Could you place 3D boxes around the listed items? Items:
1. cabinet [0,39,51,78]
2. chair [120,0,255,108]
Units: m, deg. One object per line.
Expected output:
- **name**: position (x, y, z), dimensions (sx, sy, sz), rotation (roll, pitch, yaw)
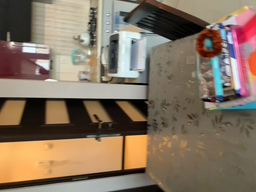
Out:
- **cabinet**: position (-1.410, -0.470, 2.760), dimensions (0.320, 0.750, 0.450), rotation (-169, 80, -69)
- **chair**: position (0.500, -0.200, 1.280), dimensions (0.350, 1.020, 0.500), rotation (-172, 83, -69)
